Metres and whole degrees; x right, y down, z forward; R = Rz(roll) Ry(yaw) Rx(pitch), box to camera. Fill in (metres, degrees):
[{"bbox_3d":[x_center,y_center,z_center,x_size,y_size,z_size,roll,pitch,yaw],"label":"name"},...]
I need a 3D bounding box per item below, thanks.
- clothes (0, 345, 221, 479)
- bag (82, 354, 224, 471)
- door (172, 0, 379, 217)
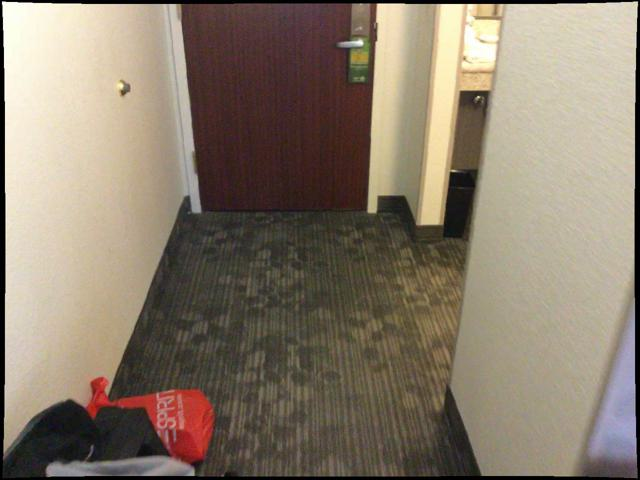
[{"bbox_3d":[-0.420,0.490,1.110,0.390,0.250,0.570,1,32,-4],"label":"clothes"},{"bbox_3d":[-0.470,0.501,1.700,0.340,0.210,0.250,1,32,-4],"label":"bag"},{"bbox_3d":[-0.200,-0.971,2.650,0.899,1.851,0.140,1,29,-4],"label":"door"}]
